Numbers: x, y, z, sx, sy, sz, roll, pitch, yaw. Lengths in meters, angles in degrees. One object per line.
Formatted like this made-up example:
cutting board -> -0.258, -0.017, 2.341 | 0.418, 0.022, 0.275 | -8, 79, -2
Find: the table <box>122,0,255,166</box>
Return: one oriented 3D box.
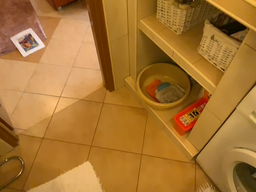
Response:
table -> 0.380, -0.220, 1.120 | 0.470, 1.040, 0.760 | -31, 62, -17
